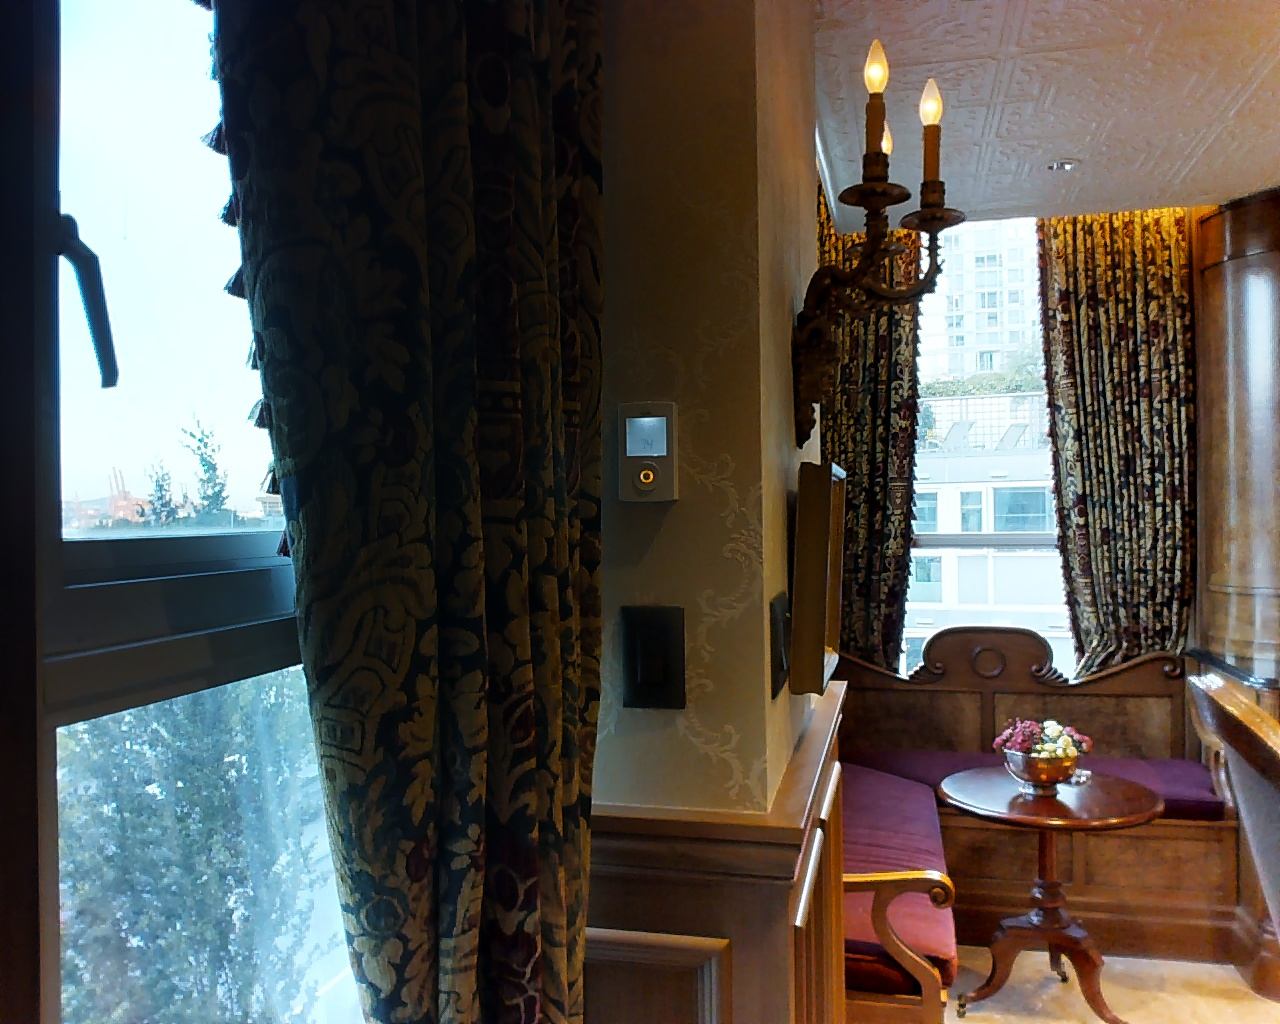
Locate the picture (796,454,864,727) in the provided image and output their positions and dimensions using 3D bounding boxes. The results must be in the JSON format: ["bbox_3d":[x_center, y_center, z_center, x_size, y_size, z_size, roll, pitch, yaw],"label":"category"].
[{"bbox_3d":[0.310,0.110,1.720,0.070,0.380,0.440,-1,0,14],"label":"picture"}]
